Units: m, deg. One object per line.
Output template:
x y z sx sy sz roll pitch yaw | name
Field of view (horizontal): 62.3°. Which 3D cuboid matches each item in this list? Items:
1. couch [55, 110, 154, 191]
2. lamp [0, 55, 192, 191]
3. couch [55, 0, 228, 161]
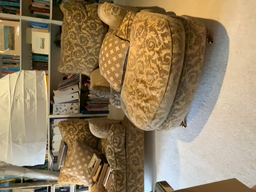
-0.340 0.660 2.410 1.070 0.810 0.890 -176 86 -65 | couch
-0.390 0.170 1.740 0.700 1.500 0.730 -129 45 -53 | lamp
-0.160 -0.390 2.040 1.710 0.810 0.960 -131 47 -54 | couch
